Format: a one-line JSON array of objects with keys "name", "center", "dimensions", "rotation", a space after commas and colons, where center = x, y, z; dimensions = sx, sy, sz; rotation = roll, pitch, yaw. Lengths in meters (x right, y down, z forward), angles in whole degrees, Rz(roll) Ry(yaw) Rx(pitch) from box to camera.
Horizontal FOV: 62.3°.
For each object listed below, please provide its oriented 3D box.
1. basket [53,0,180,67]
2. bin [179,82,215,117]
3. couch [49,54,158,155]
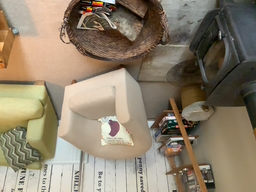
[{"name": "basket", "center": [-0.030, -0.530, 1.470], "dimensions": [0.720, 0.180, 0.740], "rotation": [-6, 152, 6]}, {"name": "bin", "center": [0.770, 0.040, 2.400], "dimensions": [0.260, 0.320, 0.220], "rotation": [3, 152, -10]}, {"name": "couch", "center": [-0.210, 0.150, 2.210], "dimensions": [0.790, 0.680, 0.720], "rotation": [-14, 150, 21]}]
